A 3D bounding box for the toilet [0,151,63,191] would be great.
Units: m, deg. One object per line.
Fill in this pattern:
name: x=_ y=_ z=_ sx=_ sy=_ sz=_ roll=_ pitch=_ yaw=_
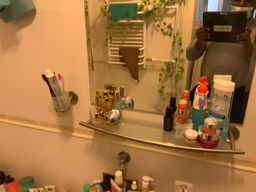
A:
toilet: x=-0.600 y=0.500 z=1.210 sx=0.440 sy=0.270 sz=0.120 roll=7 pitch=21 yaw=17
